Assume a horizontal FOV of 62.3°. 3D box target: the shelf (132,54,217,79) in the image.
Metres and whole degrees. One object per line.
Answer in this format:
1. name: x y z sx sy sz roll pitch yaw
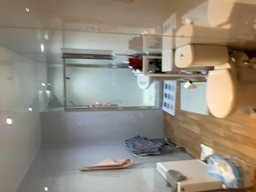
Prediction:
1. shelf: 0.580 -0.360 2.720 0.370 1.000 0.260 -168 78 -76

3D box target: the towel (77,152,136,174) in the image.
1. towel: -0.310 0.900 2.910 0.430 0.760 0.110 -175 85 -76

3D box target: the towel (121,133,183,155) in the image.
1. towel: 0.380 0.830 3.800 0.960 0.830 0.130 -175 85 -76

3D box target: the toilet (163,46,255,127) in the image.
1. toilet: 0.820 -0.090 2.060 0.360 0.840 0.680 -159 70 -75
